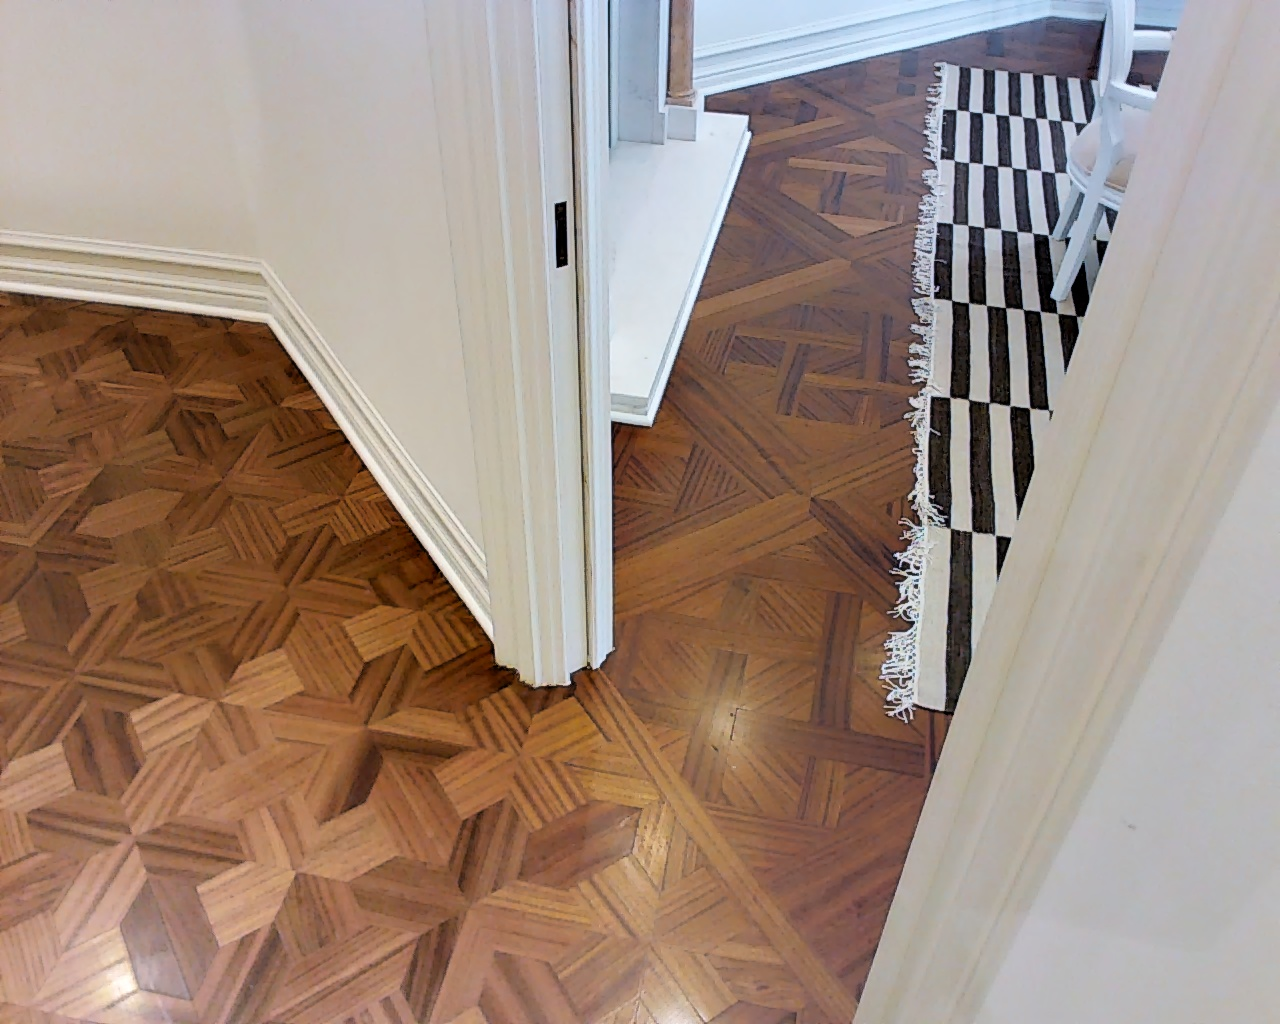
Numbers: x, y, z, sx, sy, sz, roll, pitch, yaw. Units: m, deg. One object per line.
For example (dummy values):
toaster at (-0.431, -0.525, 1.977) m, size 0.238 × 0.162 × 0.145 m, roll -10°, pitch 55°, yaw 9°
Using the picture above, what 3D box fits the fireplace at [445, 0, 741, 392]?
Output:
fireplace at (-0.040, -1.390, 3.090) m, size 0.440 × 1.380 × 1.590 m, roll 9°, pitch 42°, yaw 9°
